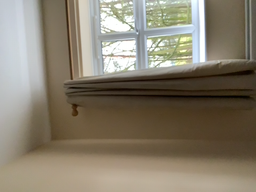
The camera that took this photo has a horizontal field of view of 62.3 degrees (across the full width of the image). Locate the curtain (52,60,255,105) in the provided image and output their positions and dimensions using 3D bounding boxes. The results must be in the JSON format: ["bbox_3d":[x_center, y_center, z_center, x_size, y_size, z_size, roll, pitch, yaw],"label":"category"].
[{"bbox_3d":[0.150,-0.090,1.610,0.220,1.440,0.260,-26,-66,-78],"label":"curtain"}]
